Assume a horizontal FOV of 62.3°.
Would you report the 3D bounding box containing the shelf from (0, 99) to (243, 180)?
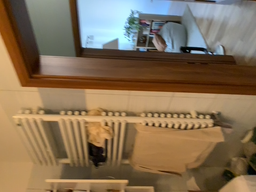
[{"bbox_3d":[-0.080,0.390,1.590,0.860,1.490,0.120,98,173,-47],"label":"shelf"}]
